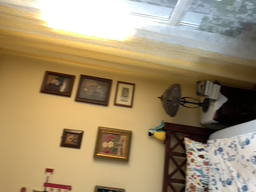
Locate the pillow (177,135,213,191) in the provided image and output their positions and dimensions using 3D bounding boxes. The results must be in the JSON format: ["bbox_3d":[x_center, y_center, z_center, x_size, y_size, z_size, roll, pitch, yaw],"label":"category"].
[{"bbox_3d":[0.660,0.720,2.100,0.300,0.220,0.600,111,168,-71],"label":"pillow"}]
